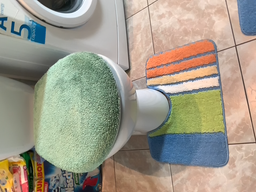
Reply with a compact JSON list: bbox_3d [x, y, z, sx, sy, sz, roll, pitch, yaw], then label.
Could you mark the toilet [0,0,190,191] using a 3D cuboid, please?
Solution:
[{"bbox_3d":[-0.260,0.050,0.830,0.660,0.740,0.420,-16,76,39],"label":"toilet"}]
